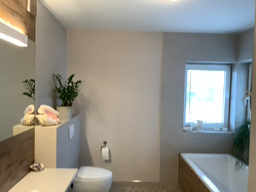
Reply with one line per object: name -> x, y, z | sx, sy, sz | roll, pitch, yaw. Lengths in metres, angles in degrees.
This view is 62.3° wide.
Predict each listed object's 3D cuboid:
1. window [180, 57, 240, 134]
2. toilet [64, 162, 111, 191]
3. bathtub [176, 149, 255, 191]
window -> 1.360, 0.000, 3.550 | 0.900, 1.240, 0.160 | 2, 2, -1
toilet -> -0.530, 1.210, 2.850 | 0.560, 0.500, 0.390 | 1, 2, -2
bathtub -> 1.240, 1.220, 2.440 | 0.890, 0.600, 2.020 | 2, 2, -1
